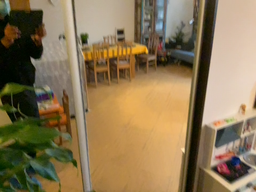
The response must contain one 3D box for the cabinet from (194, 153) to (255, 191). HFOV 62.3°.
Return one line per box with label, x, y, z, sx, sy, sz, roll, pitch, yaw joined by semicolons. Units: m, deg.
cabinet;0.730;0.770;1.640;0.280;0.490;0.300;-11;24;-25
